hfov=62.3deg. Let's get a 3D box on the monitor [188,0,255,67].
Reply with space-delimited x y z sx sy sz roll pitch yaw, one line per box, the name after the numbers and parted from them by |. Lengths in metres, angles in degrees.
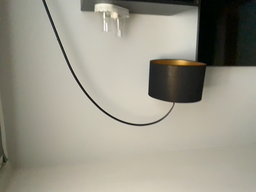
1.300 -0.710 2.140 1.400 0.820 0.080 1 -168 -15 | monitor
